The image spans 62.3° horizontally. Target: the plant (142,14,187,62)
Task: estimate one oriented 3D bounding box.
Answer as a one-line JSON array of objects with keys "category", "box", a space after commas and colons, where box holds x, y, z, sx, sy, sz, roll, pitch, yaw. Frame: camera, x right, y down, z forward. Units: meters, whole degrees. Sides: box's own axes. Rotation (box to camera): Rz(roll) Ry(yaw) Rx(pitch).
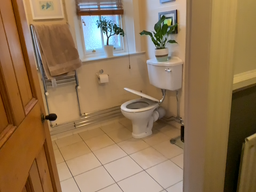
[{"category": "plant", "box": [0.410, -0.660, 2.410, 0.250, 0.470, 0.460, -15, 21, -28]}]
